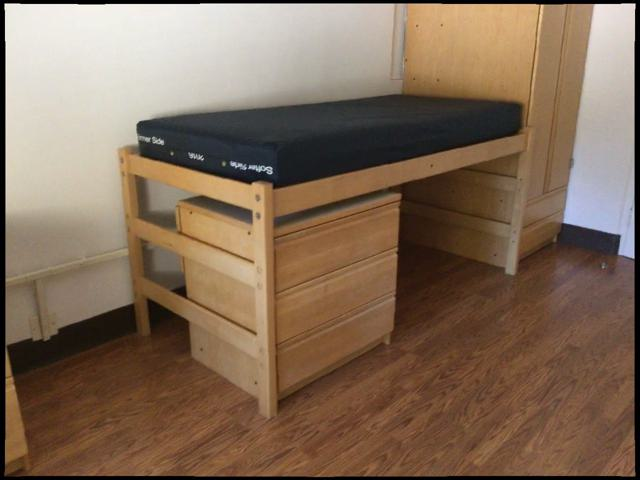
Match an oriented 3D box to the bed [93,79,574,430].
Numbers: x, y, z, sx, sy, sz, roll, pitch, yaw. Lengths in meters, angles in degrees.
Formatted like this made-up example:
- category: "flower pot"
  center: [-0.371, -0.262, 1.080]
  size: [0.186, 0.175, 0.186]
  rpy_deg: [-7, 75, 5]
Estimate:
- category: "bed"
  center: [0.200, -0.200, 3.100]
  size: [2.268, 1.072, 1.129]
  rpy_deg: [-18, 27, -38]
